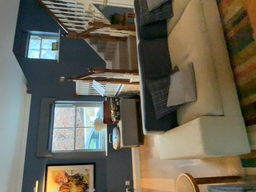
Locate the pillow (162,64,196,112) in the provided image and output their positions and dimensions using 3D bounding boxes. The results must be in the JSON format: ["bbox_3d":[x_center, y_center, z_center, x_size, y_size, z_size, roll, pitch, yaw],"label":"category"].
[{"bbox_3d":[0.510,-0.070,2.190,0.380,0.140,0.380,126,144,-66],"label":"pillow"}]
